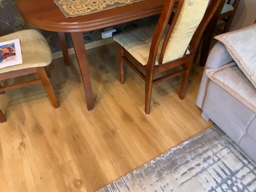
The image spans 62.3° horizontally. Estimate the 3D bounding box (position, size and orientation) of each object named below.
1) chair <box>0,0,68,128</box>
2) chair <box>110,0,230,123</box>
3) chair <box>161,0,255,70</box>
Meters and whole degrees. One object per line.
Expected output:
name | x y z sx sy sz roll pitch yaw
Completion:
chair | -0.820 -0.320 1.320 0.590 0.960 0.470 -19 50 -17
chair | 0.200 -0.380 1.380 0.410 0.960 0.540 -22 51 -20
chair | 0.720 -0.820 1.810 0.600 0.950 0.460 -24 52 -21
